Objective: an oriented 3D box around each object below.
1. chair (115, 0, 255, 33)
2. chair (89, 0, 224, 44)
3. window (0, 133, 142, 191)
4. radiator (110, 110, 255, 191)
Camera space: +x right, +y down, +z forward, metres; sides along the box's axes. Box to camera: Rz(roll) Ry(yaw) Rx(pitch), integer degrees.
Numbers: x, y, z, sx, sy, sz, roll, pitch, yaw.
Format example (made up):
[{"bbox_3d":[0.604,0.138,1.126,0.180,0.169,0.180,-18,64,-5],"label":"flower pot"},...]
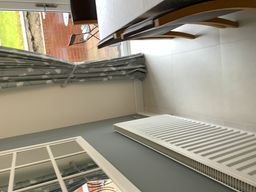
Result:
[{"bbox_3d":[0.420,-0.610,1.120,0.370,0.910,0.490,19,115,62],"label":"chair"},{"bbox_3d":[0.220,-0.660,1.510,0.350,0.910,0.500,14,110,63],"label":"chair"},{"bbox_3d":[-0.570,0.480,0.970,2.070,0.970,0.130,-1,96,64],"label":"window"},{"bbox_3d":[0.540,0.270,1.300,1.760,0.710,0.120,2,100,64],"label":"radiator"}]
